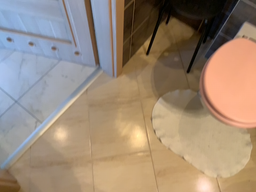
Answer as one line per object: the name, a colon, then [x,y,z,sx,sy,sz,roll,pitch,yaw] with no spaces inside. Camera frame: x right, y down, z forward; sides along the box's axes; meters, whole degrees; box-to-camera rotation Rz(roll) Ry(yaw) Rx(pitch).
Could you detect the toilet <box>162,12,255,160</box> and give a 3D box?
toilet: [0.540,-0.030,1.160,0.360,0.460,0.570,35,69,12]
